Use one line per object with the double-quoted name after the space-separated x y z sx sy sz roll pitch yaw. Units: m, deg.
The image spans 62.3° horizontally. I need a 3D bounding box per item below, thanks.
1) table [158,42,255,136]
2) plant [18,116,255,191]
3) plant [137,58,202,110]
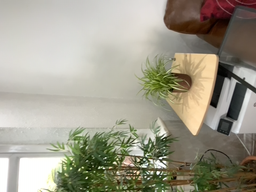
0.720 -0.070 1.590 0.610 0.730 0.470 -120 36 -62 "table"
0.300 0.520 1.250 0.500 1.640 0.640 125 145 -62 "plant"
0.260 -0.080 1.410 0.220 0.310 0.260 -119 35 -62 "plant"
